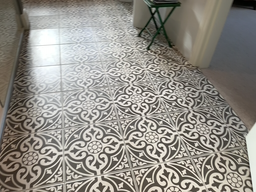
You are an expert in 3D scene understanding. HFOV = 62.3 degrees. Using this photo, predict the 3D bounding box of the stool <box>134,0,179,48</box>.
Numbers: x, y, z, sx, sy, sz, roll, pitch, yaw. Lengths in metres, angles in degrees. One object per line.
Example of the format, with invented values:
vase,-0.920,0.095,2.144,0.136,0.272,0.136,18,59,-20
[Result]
stool,0.240,-0.700,1.940,0.260,0.400,0.280,-8,46,-14
